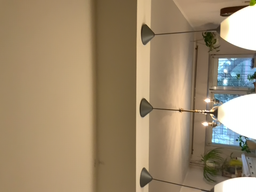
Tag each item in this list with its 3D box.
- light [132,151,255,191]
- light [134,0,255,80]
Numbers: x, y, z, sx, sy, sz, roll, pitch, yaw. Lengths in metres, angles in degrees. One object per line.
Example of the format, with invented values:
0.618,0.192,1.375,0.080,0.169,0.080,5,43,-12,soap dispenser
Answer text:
0.380,0.540,1.220,0.660,0.260,0.270,3,-84,24,light
0.390,-0.370,1.100,0.660,0.150,0.270,27,-49,5,light
